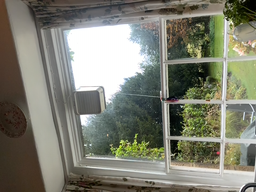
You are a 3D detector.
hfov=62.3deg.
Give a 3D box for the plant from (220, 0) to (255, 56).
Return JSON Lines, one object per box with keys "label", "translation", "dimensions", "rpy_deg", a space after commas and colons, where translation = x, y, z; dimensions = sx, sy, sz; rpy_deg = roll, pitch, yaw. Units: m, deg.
{"label": "plant", "translation": [0.470, -0.230, 0.700], "dimensions": [0.170, 0.270, 0.170], "rpy_deg": [-49, -42, -69]}
